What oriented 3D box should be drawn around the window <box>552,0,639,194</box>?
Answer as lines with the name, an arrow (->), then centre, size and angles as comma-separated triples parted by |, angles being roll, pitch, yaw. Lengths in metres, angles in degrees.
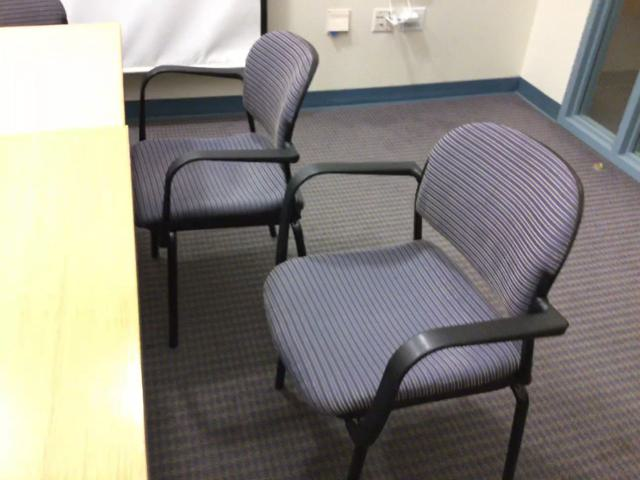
window -> 1.480, -0.580, 2.310 | 0.330, 0.770, 1.140 | -10, 37, -11

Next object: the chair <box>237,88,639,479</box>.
chair -> 0.200, 0.190, 1.240 | 0.590, 0.780, 0.590 | -10, 37, -11

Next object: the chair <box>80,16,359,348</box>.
chair -> -0.270, -0.190, 1.710 | 0.620, 0.720, 0.550 | -10, 37, -11
